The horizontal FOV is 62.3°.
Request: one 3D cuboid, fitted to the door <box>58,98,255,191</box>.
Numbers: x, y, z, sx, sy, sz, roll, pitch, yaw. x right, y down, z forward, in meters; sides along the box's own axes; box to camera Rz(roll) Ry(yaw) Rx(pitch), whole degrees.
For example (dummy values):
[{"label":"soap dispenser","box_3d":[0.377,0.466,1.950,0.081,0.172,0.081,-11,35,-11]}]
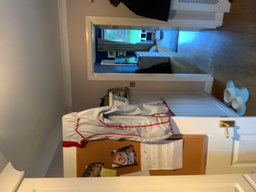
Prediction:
[{"label":"door","box_3d":[0.540,0.510,1.540,0.110,1.990,0.970,-118,29,-80]}]
